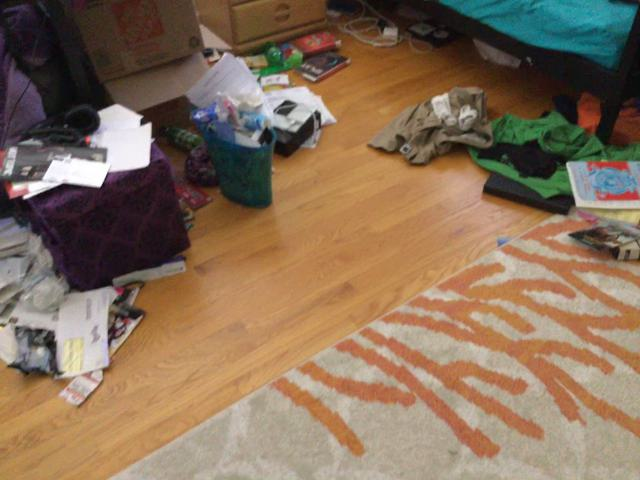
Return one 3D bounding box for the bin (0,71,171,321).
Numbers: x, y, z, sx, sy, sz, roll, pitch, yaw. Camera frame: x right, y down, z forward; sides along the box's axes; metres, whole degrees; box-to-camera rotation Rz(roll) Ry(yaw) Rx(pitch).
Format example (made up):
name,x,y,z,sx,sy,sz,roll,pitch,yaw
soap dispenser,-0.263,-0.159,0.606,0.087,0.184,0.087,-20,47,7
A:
name,x,y,z,sx,sy,sz,roll,pitch,yaw
bin,-0.780,-0.160,1.840,0.450,0.450,0.590,-13,44,-10
